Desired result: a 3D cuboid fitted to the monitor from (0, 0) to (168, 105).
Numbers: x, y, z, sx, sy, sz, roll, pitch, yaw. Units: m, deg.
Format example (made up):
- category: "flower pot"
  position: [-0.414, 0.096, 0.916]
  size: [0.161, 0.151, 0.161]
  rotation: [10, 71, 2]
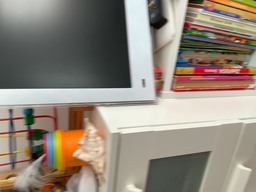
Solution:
- category: "monitor"
  position: [-0.110, -0.260, 0.480]
  size: [0.020, 0.390, 0.550]
  rotation: [157, 110, -67]
